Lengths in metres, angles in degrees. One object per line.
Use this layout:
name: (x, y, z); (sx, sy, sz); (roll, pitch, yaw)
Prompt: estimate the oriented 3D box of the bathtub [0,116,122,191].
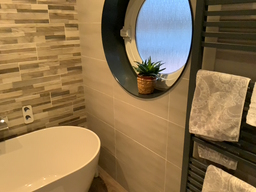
bathtub: (-0.880, 0.740, 1.560); (1.500, 0.570, 0.790); (-16, 25, -38)
